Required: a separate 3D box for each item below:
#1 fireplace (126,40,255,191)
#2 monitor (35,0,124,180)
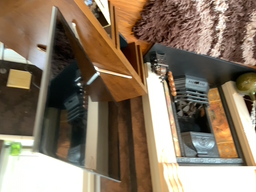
[{"bbox_3d":[0.740,0.280,1.950,1.320,1.190,0.580,8,150,-23],"label":"fireplace"},{"bbox_3d":[-0.160,0.080,1.110,0.040,0.590,0.930,-9,153,8],"label":"monitor"}]
